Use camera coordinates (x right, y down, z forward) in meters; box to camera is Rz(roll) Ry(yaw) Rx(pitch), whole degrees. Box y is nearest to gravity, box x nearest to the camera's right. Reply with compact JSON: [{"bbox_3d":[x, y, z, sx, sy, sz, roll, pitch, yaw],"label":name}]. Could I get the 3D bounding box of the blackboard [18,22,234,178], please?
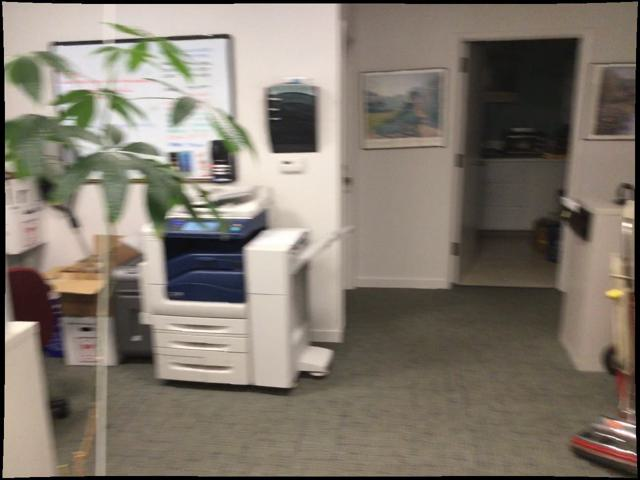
[{"bbox_3d":[-1.209,-0.851,3.630,1.289,0.871,0.060,-1,14,8],"label":"blackboard"}]
